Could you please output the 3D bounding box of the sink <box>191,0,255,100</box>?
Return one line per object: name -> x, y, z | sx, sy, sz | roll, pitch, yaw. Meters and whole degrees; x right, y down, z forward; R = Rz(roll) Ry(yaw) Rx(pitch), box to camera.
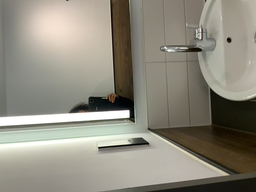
sink -> 0.440, -0.220, 0.750 | 0.480, 0.200, 0.450 | -179, 86, -80
